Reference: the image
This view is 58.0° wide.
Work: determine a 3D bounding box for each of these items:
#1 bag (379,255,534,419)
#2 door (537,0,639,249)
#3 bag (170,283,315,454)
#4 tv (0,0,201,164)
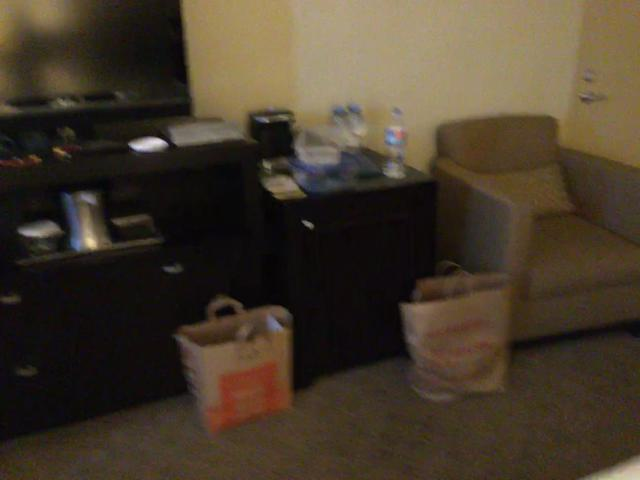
[{"bbox_3d":[0.490,0.340,2.140,0.430,0.400,0.330,-12,24,-20],"label":"bag"},{"bbox_3d":[1.660,-0.760,3.030,1.000,1.470,0.180,-12,24,-20],"label":"door"},{"bbox_3d":[-0.260,0.430,1.990,0.410,0.430,0.220,-12,24,-20],"label":"bag"},{"bbox_3d":[-0.820,-0.590,1.760,0.780,0.600,0.170,-18,25,-23],"label":"tv"}]
